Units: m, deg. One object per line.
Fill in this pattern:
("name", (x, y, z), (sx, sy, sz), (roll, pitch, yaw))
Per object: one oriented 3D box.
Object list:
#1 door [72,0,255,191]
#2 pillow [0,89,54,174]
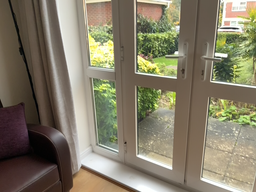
("door", (0.410, -0.200, 1.350), (2.020, 2.550, 0.100), (12, 24, 34))
("pillow", (-0.870, 0.260, 1.540), (0.210, 0.410, 0.440), (19, 68, 36))
